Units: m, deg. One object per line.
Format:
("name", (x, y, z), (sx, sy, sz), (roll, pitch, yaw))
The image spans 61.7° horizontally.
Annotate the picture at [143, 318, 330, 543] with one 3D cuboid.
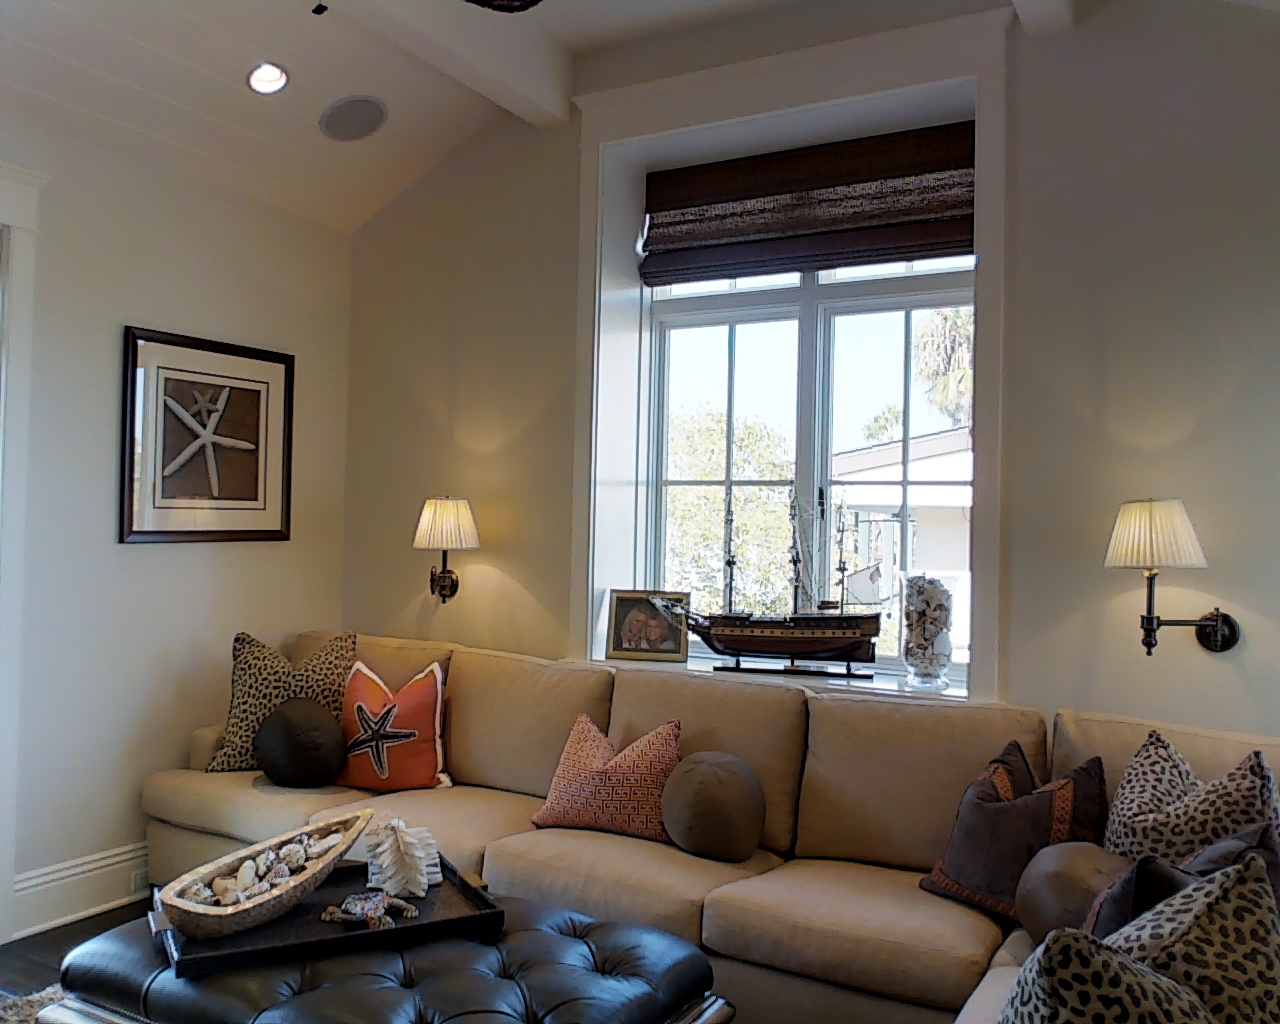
("picture", (-1.639, -0.300, 4.440), (0.060, 0.850, 0.870), (0, -1, 30))
